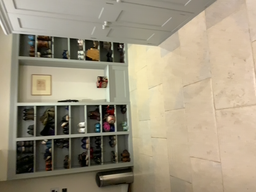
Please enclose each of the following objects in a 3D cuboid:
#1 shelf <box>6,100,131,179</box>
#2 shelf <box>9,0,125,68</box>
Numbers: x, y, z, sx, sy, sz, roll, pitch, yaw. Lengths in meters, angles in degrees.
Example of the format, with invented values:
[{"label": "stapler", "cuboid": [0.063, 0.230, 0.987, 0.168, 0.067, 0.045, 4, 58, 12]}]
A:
[{"label": "shelf", "cuboid": [-1.070, 0.760, 4.130, 0.370, 2.210, 1.290, 152, 116, -67]}, {"label": "shelf", "cuboid": [-1.210, -1.290, 4.470, 0.380, 2.210, 1.230, 152, 116, -67]}]
